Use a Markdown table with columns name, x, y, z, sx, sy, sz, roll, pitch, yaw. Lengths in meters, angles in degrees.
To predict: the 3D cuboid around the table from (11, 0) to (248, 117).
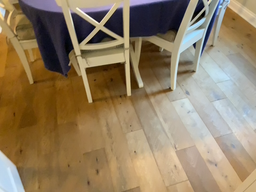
| name | x | y | z | sx | sy | sz | roll | pitch | yaw |
| --- | --- | --- | --- | --- | --- | --- | --- | --- | --- |
| table | -0.060 | -0.690 | 1.860 | 1.520 | 0.750 | 1.120 | -17 | 50 | -12 |

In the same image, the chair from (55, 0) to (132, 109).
| name | x | y | z | sx | sy | sz | roll | pitch | yaw |
| --- | --- | --- | --- | --- | --- | --- | --- | --- | --- |
| chair | -0.220 | -0.370 | 1.540 | 0.380 | 0.820 | 0.450 | -12 | 49 | -8 |

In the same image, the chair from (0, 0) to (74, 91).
| name | x | y | z | sx | sy | sz | roll | pitch | yaw |
| --- | --- | --- | --- | --- | --- | --- | --- | --- | --- |
| chair | -0.790 | -0.520 | 1.690 | 0.450 | 0.820 | 0.380 | -21 | 51 | -16 |
